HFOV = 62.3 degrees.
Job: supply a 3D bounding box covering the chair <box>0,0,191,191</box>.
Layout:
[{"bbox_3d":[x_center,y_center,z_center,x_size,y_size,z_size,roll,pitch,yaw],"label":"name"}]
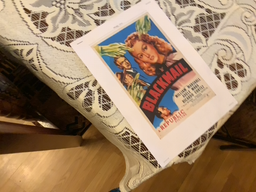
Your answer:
[{"bbox_3d":[-0.210,-0.110,0.690,0.430,0.910,0.470,39,74,3],"label":"chair"}]
